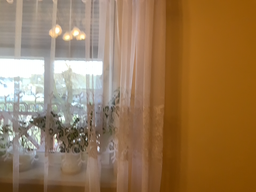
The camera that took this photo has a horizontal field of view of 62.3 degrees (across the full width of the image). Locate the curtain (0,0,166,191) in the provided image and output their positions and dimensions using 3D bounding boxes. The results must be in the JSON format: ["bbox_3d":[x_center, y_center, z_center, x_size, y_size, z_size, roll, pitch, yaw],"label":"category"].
[{"bbox_3d":[-0.750,0.030,1.340,1.880,2.730,0.250,2,2,2],"label":"curtain"}]
